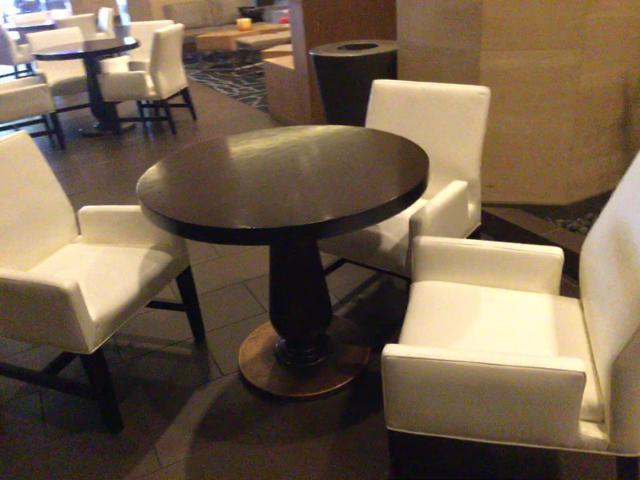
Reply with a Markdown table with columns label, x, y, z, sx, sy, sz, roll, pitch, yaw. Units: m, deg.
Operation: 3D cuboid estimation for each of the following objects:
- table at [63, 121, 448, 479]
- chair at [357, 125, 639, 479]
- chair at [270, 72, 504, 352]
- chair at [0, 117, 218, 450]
| label | x | y | z | sx | sy | sz | roll | pitch | yaw |
| --- | --- | --- | --- | --- | --- | --- | --- | --- | --- |
| table | -0.090 | 0.100 | 1.950 | 0.900 | 0.830 | 0.910 | 4 | 22 | 19 |
| chair | 0.540 | 0.180 | 1.480 | 0.730 | 0.820 | 0.660 | 3 | 22 | 16 |
| chair | 0.300 | -0.160 | 2.220 | 0.580 | 0.840 | 0.680 | 7 | 22 | 36 |
| chair | -0.860 | 0.080 | 1.990 | 0.670 | 0.890 | 0.670 | 4 | 22 | 18 |
